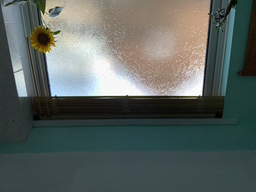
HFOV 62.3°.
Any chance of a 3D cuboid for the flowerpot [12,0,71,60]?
[{"bbox_3d":[-0.470,-0.530,1.140,0.230,0.640,0.160,-1,-162,-2],"label":"flowerpot"}]
